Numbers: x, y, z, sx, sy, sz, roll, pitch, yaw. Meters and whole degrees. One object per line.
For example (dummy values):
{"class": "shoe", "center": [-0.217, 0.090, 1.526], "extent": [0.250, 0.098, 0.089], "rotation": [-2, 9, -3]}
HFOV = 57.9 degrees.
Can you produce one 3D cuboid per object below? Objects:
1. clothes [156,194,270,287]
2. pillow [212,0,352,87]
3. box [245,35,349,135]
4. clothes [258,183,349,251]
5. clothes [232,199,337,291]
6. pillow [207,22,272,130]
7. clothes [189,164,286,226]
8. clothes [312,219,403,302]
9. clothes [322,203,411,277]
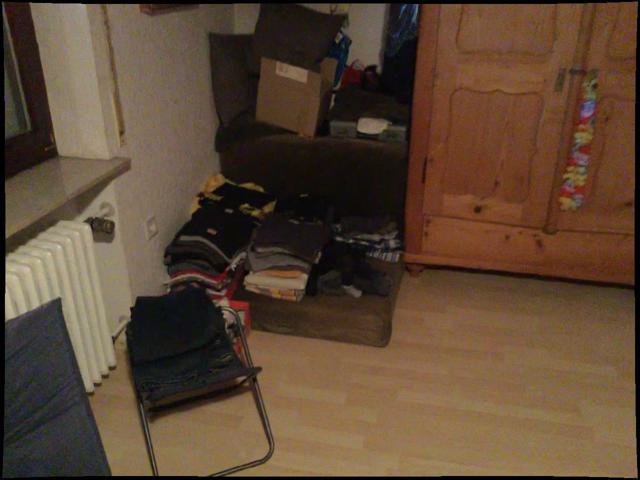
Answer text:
{"class": "clothes", "center": [-0.460, -0.010, 2.580], "extent": [0.370, 0.240, 0.370], "rotation": [5, 28, 11]}
{"class": "pillow", "center": [-0.170, -1.011, 2.870], "extent": [0.599, 0.390, 0.370], "rotation": [5, 28, 11]}
{"class": "box", "center": [-0.100, -0.801, 2.950], "extent": [0.440, 0.410, 0.370], "rotation": [5, 28, 11]}
{"class": "clothes", "center": [-0.070, -0.120, 2.800], "extent": [0.360, 0.160, 0.360], "rotation": [5, 28, 11]}
{"class": "clothes", "center": [-0.140, 0.010, 2.540], "extent": [0.360, 0.220, 0.390], "rotation": [5, 28, 11]}
{"class": "pillow", "center": [-0.400, -0.851, 2.970], "extent": [0.180, 0.460, 0.400], "rotation": [5, 28, 11]}
{"class": "clothes", "center": [-0.390, -0.230, 2.840], "extent": [0.350, 0.130, 0.410], "rotation": [5, 28, 11]}
{"class": "clothes", "center": [0.170, 0.080, 2.520], "extent": [0.340, 0.190, 0.340], "rotation": [5, 28, 11]}
{"class": "clothes", "center": [0.230, -0.010, 2.760], "extent": [0.370, 0.180, 0.360], "rotation": [5, 28, 11]}
